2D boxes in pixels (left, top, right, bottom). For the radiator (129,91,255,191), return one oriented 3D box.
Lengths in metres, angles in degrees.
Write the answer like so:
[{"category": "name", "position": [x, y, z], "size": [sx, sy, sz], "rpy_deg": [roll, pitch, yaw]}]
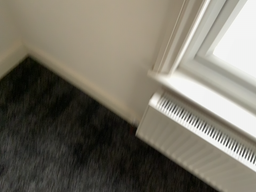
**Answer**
[{"category": "radiator", "position": [0.610, 0.510, 0.940], "size": [1.410, 0.470, 0.070], "rpy_deg": [35, 65, 12]}]
